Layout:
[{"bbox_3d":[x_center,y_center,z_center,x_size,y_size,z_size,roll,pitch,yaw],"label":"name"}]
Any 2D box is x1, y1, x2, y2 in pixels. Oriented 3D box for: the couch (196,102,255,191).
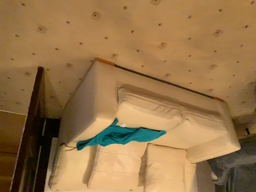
[{"bbox_3d":[1.330,0.800,2.520,0.750,1.030,0.980,-13,147,14],"label":"couch"}]
